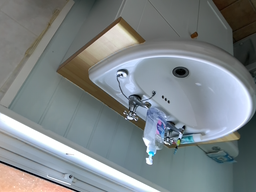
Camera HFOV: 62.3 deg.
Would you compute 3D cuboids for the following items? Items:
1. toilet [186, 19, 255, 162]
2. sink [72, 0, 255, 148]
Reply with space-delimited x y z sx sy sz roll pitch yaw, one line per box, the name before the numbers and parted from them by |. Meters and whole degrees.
toilet | 0.810 -0.050 1.350 0.420 0.760 0.670 37 141 -29
sink | 0.190 -0.030 0.800 0.590 0.170 0.510 37 141 -29
